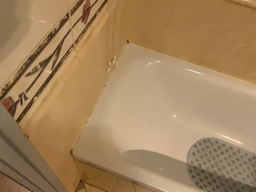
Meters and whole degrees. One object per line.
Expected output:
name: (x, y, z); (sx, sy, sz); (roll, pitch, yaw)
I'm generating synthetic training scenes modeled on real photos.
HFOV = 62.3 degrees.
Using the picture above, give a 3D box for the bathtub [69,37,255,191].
bathtub: (0.650, 0.370, 1.160); (1.690, 0.550, 0.700); (20, 58, 6)
